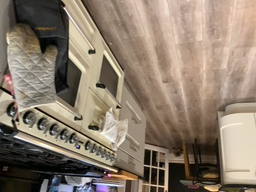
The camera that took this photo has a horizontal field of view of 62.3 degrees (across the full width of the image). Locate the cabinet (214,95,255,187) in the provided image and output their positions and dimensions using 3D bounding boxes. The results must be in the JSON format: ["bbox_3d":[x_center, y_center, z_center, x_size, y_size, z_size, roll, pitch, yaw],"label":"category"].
[{"bbox_3d":[1.320,0.480,2.290,0.660,0.910,0.350,-3,155,19],"label":"cabinet"}]
